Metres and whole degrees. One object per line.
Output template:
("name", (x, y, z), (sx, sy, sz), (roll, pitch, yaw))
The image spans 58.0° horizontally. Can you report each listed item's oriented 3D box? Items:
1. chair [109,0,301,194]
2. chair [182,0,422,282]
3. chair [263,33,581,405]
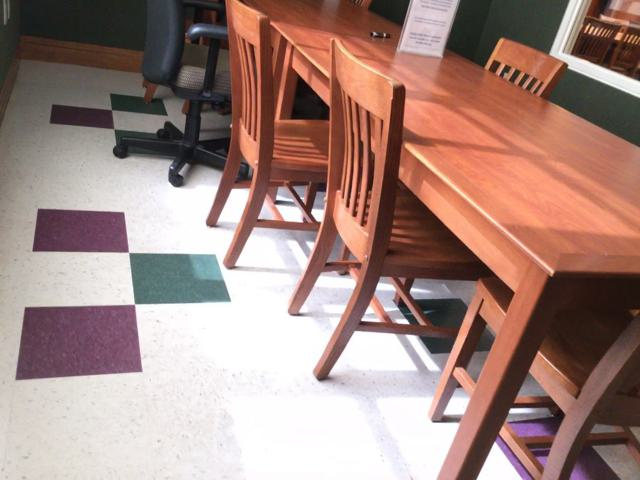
("chair", (-0.570, -0.800, 2.590), (0.660, 0.940, 0.730), (0, 31, -22))
("chair", (-0.130, -0.370, 2.090), (0.590, 0.880, 0.530), (0, 31, -22))
("chair", (0.210, -0.050, 1.650), (0.520, 0.880, 0.470), (0, 31, -22))
